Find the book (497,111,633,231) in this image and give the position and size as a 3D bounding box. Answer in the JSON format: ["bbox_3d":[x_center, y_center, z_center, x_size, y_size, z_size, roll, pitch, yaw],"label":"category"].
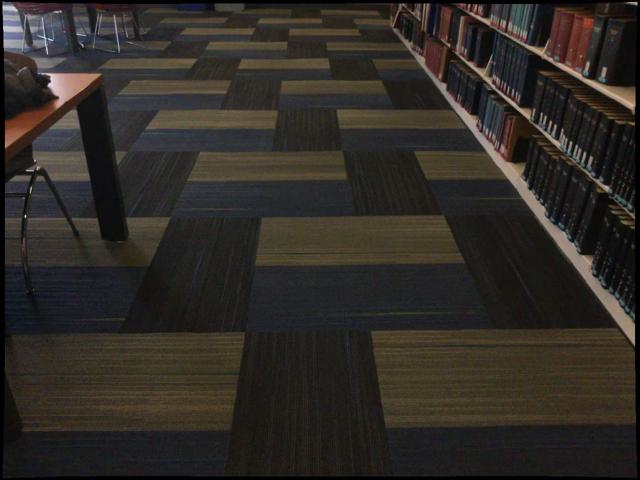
[{"bbox_3d":[1.117,-0.371,2.760,0.190,0.200,1.011,-2,29,-2],"label":"book"}]

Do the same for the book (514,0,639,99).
[{"bbox_3d":[1.177,-0.892,2.600,0.259,0.271,0.881,-2,29,-2],"label":"book"}]

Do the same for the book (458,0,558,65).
[{"bbox_3d":[1.047,-1.283,3.360,0.150,0.261,1.181,-2,29,-2],"label":"book"}]

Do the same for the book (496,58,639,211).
[{"bbox_3d":[1.127,-0.551,2.710,0.190,0.371,1.121,-2,29,-2],"label":"book"}]

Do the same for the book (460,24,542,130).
[{"bbox_3d":[1.067,-1.033,3.530,0.100,0.391,1.081,-2,29,-2],"label":"book"}]

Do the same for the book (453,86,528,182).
[{"bbox_3d":[1.027,-0.682,3.570,0.160,0.331,0.840,-2,29,-2],"label":"book"}]
